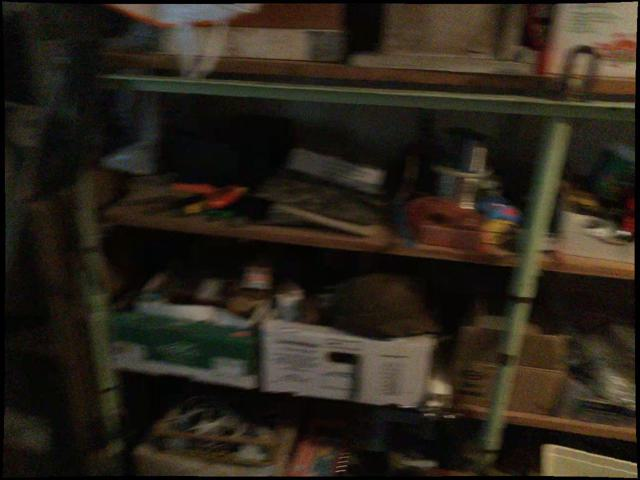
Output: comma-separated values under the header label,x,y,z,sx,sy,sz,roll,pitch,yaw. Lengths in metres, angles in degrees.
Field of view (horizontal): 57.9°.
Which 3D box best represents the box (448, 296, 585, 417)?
label,x,y,z,sx,sy,sz,roll,pitch,yaw
box,0.450,0.270,1.370,0.260,0.180,0.180,5,26,8
